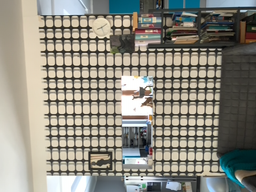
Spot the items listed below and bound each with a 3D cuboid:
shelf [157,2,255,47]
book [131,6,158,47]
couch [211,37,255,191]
[{"bbox_3d":[0.980,-0.670,2.060,0.370,1.350,0.350,-90,0,-82],"label":"shelf"},{"bbox_3d":[0.160,-0.690,2.140,0.210,0.250,0.360,-90,0,-85],"label":"book"},{"bbox_3d":[1.300,0.130,1.960,0.750,0.700,1.230,-90,0,-82],"label":"couch"}]
